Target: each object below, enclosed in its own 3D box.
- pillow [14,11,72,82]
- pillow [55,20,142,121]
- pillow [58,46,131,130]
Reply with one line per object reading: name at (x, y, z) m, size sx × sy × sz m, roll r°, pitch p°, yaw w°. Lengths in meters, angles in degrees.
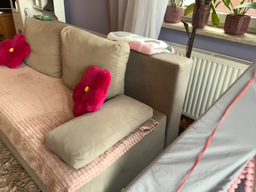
pillow at (-0.820, -0.500, 2.040) m, size 0.720 × 0.420 × 0.160 m, roll 34°, pitch 41°, yaw 31°
pillow at (-0.260, -0.210, 1.570) m, size 0.250 × 0.420 × 0.640 m, roll -23°, pitch 53°, yaw -39°
pillow at (-0.230, -0.040, 1.350) m, size 0.170 × 0.350 × 0.390 m, roll -27°, pitch 82°, yaw -40°
